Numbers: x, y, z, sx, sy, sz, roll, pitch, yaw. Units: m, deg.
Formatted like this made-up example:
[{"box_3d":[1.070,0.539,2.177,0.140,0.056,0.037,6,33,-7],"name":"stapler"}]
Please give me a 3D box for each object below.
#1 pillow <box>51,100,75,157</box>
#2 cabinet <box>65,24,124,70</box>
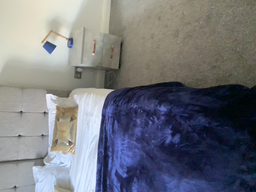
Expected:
[{"box_3d":[-0.680,0.330,2.240,0.310,0.170,0.540,-125,36,-86],"name":"pillow"},{"box_3d":[-0.400,-0.540,2.490,0.430,0.510,0.390,8,93,56],"name":"cabinet"}]
